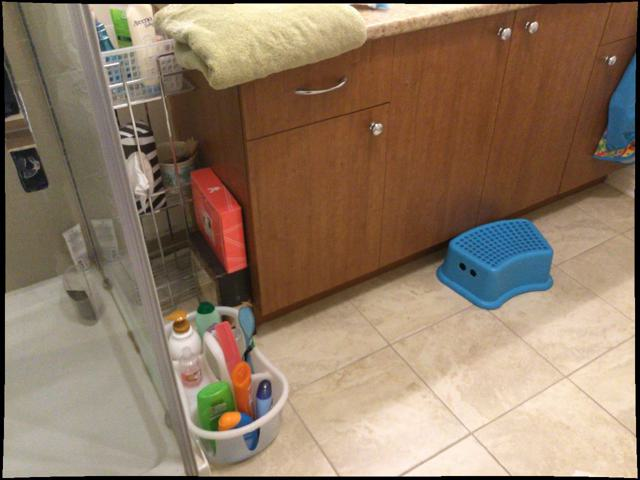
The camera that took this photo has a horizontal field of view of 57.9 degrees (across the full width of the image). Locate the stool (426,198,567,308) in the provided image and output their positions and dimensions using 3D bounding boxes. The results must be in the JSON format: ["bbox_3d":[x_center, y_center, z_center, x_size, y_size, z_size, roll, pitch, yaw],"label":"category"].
[{"bbox_3d":[0.549,0.030,1.820,0.340,0.120,0.240,-23,45,-25],"label":"stool"}]

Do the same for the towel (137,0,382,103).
[{"bbox_3d":[-0.130,-0.450,1.210,0.390,0.110,0.330,-23,45,-25],"label":"towel"}]

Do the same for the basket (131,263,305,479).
[{"bbox_3d":[-0.250,0.300,1.410,0.240,0.230,0.410,-23,45,-25],"label":"basket"}]

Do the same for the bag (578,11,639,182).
[{"bbox_3d":[1.059,-0.480,1.900,0.280,0.540,0.100,-23,45,-25],"label":"bag"}]
